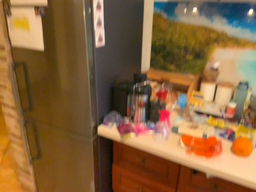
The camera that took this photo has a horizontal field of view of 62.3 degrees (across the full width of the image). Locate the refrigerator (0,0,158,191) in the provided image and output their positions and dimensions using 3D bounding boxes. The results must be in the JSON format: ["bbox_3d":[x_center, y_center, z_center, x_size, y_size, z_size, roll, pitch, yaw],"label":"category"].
[{"bbox_3d":[-0.250,-0.130,1.590,0.560,1.960,0.880,14,26,27],"label":"refrigerator"}]
